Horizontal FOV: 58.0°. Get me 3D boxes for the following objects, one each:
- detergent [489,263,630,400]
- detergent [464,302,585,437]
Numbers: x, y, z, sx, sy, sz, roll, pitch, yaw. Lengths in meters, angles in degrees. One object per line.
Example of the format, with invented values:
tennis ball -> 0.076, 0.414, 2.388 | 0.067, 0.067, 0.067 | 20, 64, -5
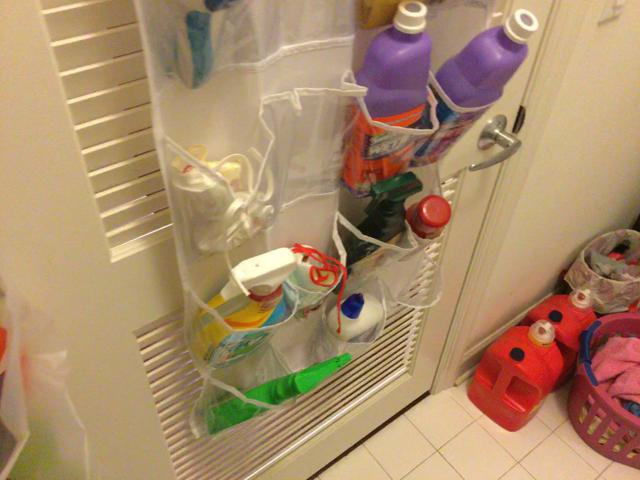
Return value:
detergent -> 0.660, 0.250, 1.610 | 0.280, 0.220, 0.180 | -25, 50, -27
detergent -> 0.540, 0.350, 1.560 | 0.160, 0.270, 0.190 | -25, 50, -27
